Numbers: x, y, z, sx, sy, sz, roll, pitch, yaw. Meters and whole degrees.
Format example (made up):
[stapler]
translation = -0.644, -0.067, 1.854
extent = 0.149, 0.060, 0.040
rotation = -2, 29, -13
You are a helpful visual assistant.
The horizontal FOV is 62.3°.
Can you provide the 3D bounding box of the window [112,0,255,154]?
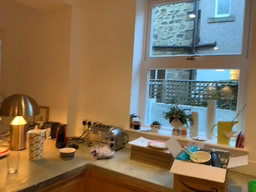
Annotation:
[window]
translation = 0.540, -0.440, 2.190
extent = 1.400, 1.720, 0.340
rotation = 5, 3, 32
